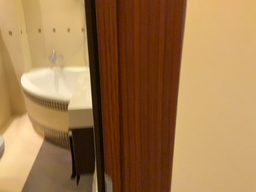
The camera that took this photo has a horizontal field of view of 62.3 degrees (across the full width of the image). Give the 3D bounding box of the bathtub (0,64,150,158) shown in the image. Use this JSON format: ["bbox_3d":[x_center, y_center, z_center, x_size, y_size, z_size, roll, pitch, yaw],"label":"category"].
[{"bbox_3d":[-0.530,0.060,2.720,1.370,0.600,1.390,-3,22,-5],"label":"bathtub"}]
